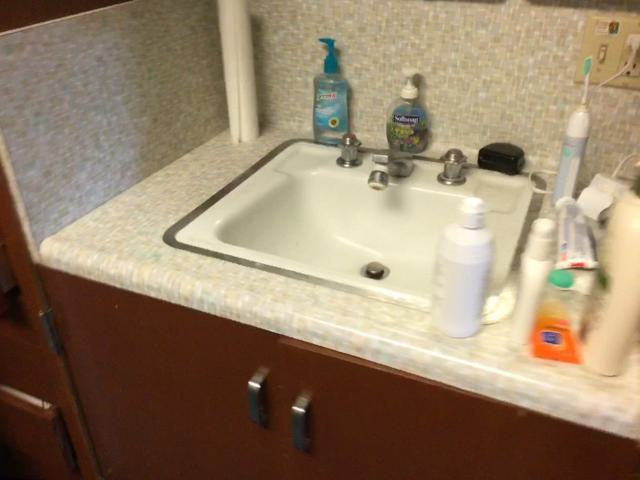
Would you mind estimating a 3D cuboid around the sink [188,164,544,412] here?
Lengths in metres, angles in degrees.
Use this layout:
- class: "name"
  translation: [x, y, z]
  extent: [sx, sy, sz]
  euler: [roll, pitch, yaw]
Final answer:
- class: "sink"
  translation: [0.090, 0.040, 0.950]
  extent: [0.470, 0.160, 0.340]
  euler: [10, 32, 22]

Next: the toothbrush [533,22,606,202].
- class: "toothbrush"
  translation: [0.380, -0.190, 0.890]
  extent: [0.060, 0.270, 0.030]
  euler: [10, 32, 22]
